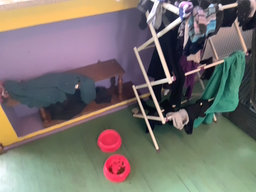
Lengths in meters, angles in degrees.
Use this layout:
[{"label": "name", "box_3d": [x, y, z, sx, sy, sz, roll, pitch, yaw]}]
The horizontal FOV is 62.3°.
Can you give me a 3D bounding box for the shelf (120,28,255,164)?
[{"label": "shelf", "box_3d": [0.400, -0.020, 1.590, 0.790, 0.680, 0.470, -18, 46, -21]}]
